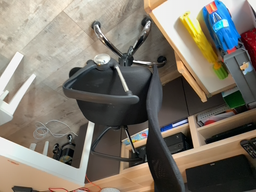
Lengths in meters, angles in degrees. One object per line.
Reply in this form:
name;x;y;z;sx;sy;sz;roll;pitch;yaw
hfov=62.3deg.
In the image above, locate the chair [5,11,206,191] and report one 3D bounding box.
chair;-0.040;0.110;1.170;0.580;1.160;0.610;-1;137;4
